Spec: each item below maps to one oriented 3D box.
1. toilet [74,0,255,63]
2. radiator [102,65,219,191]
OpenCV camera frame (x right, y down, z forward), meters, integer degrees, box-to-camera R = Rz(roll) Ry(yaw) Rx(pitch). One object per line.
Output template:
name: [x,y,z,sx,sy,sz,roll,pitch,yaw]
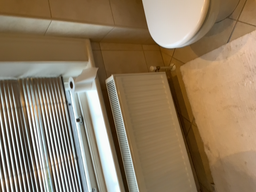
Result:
toilet: [0.190,-0.550,0.960,0.450,0.770,0.670,-23,77,53]
radiator: [0.200,0.250,1.190,0.160,0.520,0.830,-22,78,53]
